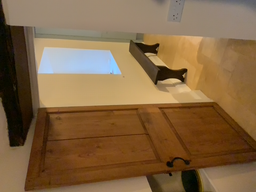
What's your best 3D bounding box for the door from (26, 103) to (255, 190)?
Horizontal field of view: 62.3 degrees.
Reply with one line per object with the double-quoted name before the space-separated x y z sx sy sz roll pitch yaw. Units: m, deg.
"door" 0.200 0.300 1.720 0.740 1.770 0.030 -113 27 -53
